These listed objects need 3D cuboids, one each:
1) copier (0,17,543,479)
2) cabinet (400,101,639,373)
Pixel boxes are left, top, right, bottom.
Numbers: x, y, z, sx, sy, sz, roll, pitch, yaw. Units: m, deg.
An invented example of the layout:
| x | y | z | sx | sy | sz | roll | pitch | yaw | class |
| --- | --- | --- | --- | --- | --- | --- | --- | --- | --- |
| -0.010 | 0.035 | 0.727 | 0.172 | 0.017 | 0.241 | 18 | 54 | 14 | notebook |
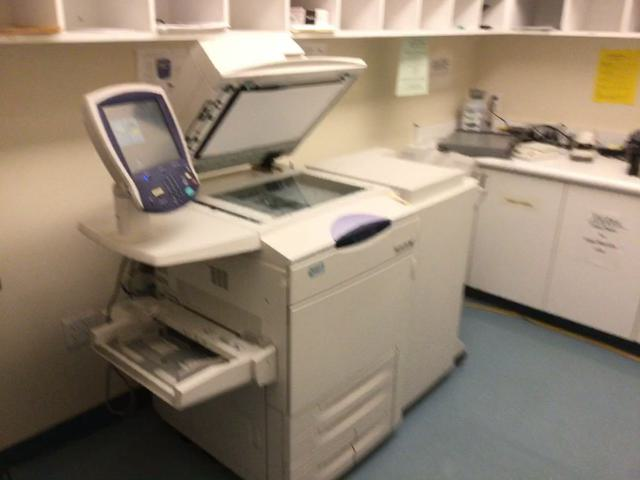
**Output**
| x | y | z | sx | sy | sz | roll | pitch | yaw | class |
| --- | --- | --- | --- | --- | --- | --- | --- | --- | --- |
| -0.060 | 0.000 | 2.140 | 0.900 | 1.470 | 1.660 | 19 | 29 | 38 | copier |
| 1.650 | 0.060 | 2.650 | 0.690 | 0.930 | 2.640 | -21 | 31 | -40 | cabinet |
